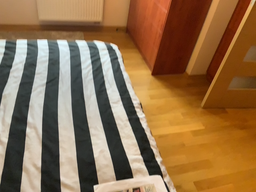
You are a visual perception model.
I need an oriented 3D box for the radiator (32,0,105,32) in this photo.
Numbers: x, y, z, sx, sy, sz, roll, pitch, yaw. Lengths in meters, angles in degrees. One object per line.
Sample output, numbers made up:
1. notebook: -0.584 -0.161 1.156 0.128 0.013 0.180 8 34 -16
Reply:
1. radiator: -0.740 -1.190 2.670 0.860 0.720 0.170 -4 43 -17
